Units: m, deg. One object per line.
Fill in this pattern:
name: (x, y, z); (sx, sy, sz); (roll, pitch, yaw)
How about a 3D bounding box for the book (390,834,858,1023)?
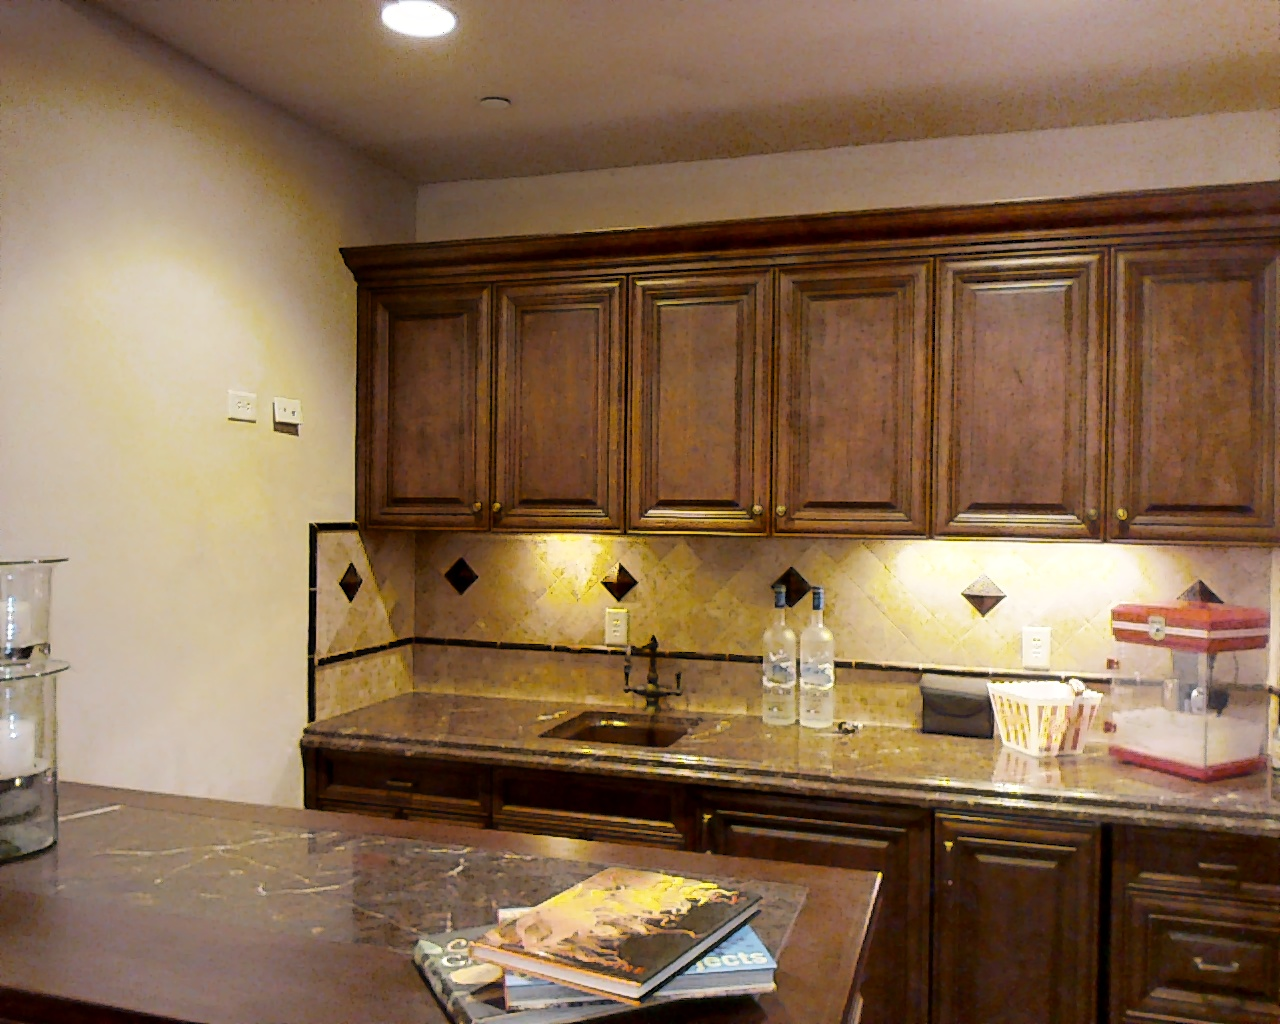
book: (-0.040, 0.530, 1.320); (0.430, 0.090, 0.430); (1, 1, -27)
